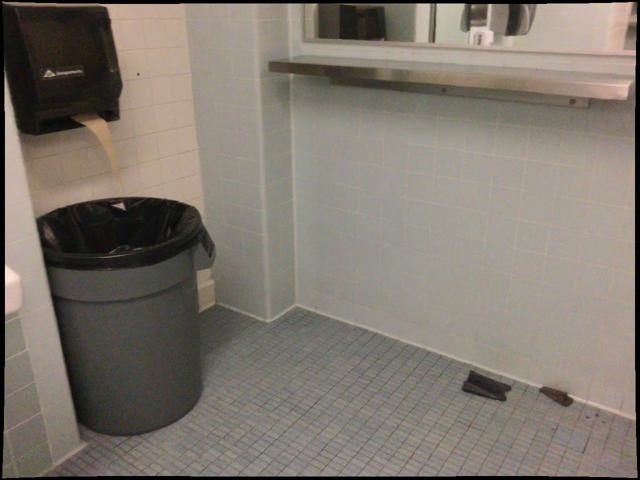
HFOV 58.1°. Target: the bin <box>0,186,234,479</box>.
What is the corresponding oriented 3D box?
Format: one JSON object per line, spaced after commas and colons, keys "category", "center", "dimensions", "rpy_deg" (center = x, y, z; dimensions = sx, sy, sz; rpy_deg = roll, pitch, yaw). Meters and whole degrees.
{"category": "bin", "center": [-0.718, 0.271, 2.020], "dimensions": [0.599, 0.702, 0.550], "rpy_deg": [17, 27, 30]}
